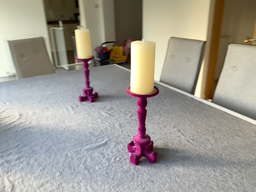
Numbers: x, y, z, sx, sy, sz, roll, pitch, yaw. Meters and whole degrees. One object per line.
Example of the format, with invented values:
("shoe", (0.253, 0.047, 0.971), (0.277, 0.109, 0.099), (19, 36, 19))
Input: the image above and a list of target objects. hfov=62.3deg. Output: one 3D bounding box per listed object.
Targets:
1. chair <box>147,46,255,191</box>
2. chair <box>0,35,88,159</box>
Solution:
("chair", (0.540, 0.260, 1.380), (0.610, 1.020, 0.530), (-15, 26, -30))
("chair", (-0.820, -0.030, 2.110), (0.630, 1.050, 0.430), (14, 27, 33))
